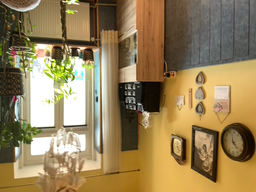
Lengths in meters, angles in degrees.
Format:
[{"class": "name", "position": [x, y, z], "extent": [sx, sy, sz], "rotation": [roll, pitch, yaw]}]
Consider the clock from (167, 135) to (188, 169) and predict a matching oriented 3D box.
[{"class": "clock", "position": [0.590, 0.660, 2.550], "extent": [0.060, 0.320, 0.340], "rotation": [0, -178, -22]}]

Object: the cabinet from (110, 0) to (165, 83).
[{"class": "cabinet", "position": [0.100, -0.910, 3.150], "extent": [0.450, 1.410, 0.930], "rotation": [0, -178, -23]}]

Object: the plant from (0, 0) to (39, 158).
[{"class": "plant", "position": [-1.630, -0.450, 2.520], "extent": [1.010, 2.160, 0.910], "rotation": [0, -178, -21]}]

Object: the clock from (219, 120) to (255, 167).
[{"class": "clock", "position": [0.880, 0.370, 1.720], "extent": [0.080, 0.310, 0.300], "rotation": [0, -178, -20]}]
